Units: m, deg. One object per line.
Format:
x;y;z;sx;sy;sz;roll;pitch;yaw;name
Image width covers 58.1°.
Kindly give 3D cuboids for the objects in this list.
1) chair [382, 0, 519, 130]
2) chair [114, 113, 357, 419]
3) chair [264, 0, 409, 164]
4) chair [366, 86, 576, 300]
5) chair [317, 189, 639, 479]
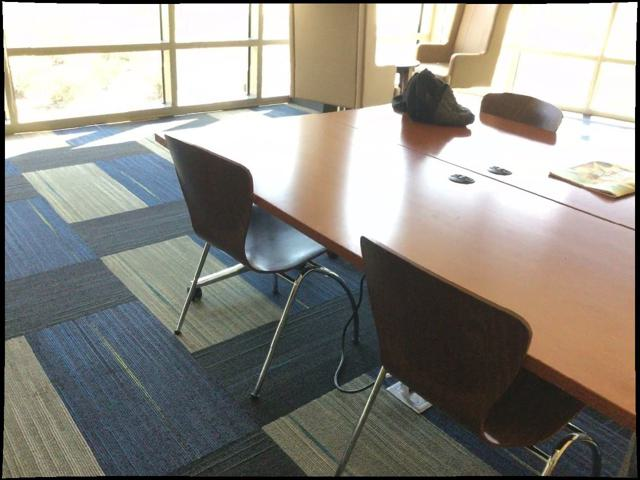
1.237;-1.785;5.690;0.818;1.162;0.830;-8;28;-23;chair
-0.299;0.040;2.000;0.549;0.782;0.570;-17;32;-36;chair
0.110;-1.333;4.590;0.799;1.152;0.729;21;30;32;chair
0.678;-0.261;2.710;0.649;0.772;0.550;-15;32;-34;chair
0.369;0.361;1.440;0.539;0.782;0.470;-17;32;-36;chair
